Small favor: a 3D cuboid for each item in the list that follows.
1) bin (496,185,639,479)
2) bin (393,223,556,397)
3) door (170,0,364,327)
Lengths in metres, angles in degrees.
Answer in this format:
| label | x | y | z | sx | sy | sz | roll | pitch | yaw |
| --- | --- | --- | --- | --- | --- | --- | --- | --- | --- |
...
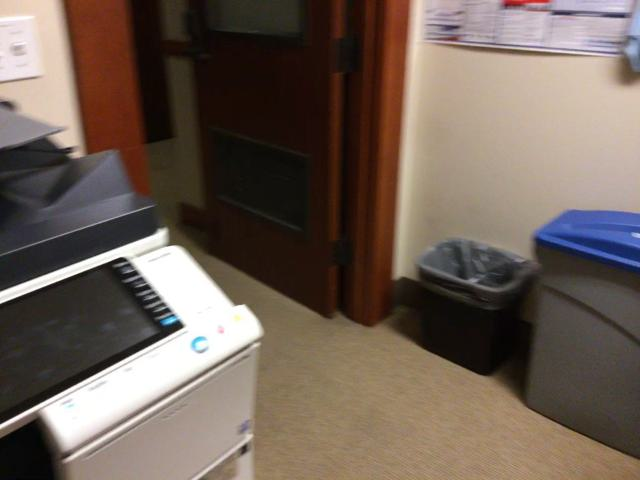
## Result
| label | x | y | z | sx | sy | sz | roll | pitch | yaw |
| --- | --- | --- | --- | --- | --- | --- | --- | --- | --- |
| bin | 0.910 | 0.270 | 1.700 | 0.570 | 0.680 | 0.360 | 21 | 32 | 39 |
| bin | 0.540 | 0.230 | 2.090 | 0.450 | 0.420 | 0.280 | 21 | 32 | 39 |
| door | -0.240 | -0.450 | 2.390 | 0.930 | 1.430 | 0.150 | 21 | 32 | 39 |
